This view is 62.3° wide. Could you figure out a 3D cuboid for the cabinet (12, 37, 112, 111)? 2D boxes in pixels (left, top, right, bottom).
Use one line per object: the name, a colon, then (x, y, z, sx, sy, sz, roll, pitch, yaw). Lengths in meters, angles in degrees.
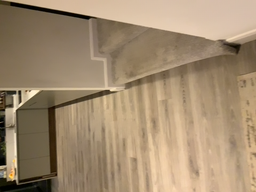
cabinet: (-1.510, -0.140, 3.930, 3.450, 0.900, 0.590, -13, 80, 57)
